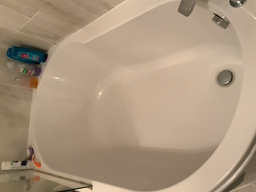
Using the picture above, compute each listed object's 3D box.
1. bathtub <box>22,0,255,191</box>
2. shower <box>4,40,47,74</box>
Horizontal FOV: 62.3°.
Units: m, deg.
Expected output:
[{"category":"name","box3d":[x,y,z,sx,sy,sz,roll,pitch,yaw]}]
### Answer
[{"category":"bathtub","box3d":[0.010,0.080,1.260,1.520,0.580,0.930,-9,76,43]},{"category":"shower","box3d":[-0.730,-0.270,1.520,0.130,0.230,0.160,-11,75,43]}]
